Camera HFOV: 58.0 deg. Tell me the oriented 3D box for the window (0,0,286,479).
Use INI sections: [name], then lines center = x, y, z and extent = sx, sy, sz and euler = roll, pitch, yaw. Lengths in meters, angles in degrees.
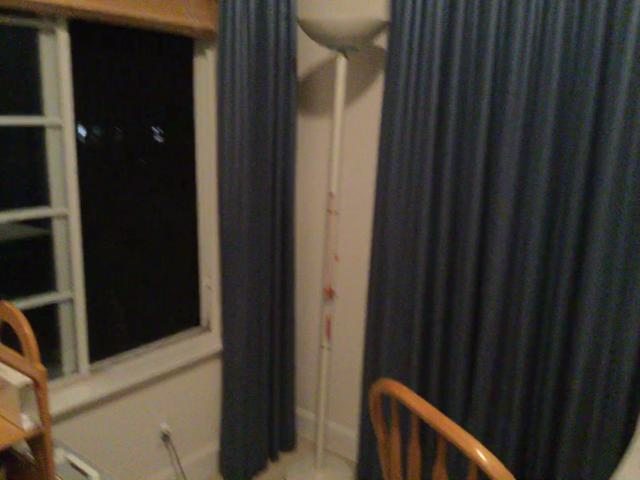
[window]
center = -0.800, -0.110, 2.090
extent = 0.680, 1.340, 1.220
euler = 9, 15, 38
